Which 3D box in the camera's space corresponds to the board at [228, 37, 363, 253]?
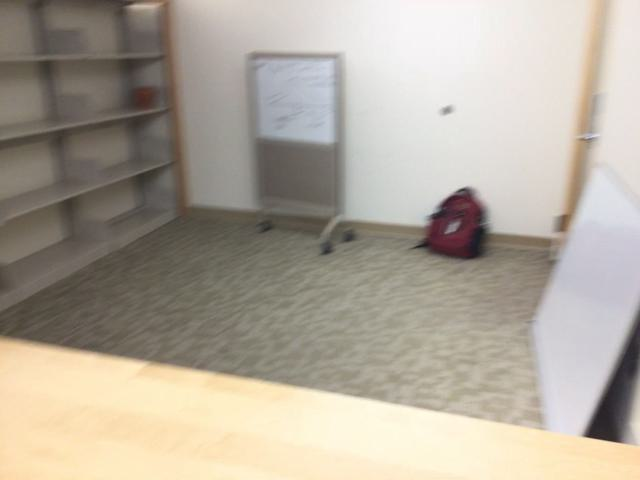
[{"bbox_3d":[-0.180,-0.680,4.000,0.790,1.350,0.410,12,21,27],"label":"board"}]
